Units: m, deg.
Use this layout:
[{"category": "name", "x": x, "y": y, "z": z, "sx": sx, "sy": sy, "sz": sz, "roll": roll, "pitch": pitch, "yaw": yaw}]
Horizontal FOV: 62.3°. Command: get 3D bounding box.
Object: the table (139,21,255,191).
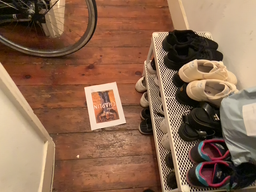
[{"category": "table", "x": 0.300, "y": 0.060, "z": 1.130, "sx": 0.340, "sy": 0.390, "sz": 0.840, "roll": -2, "pitch": 63, "yaw": -8}]
